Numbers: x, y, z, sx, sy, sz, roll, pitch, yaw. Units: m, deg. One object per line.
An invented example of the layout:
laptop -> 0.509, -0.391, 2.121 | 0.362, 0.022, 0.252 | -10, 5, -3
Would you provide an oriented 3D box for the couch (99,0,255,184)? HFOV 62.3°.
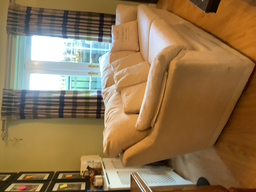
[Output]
couch -> 0.180, -0.360, 2.290 | 2.170, 0.850, 1.060 | -106, 21, -57
